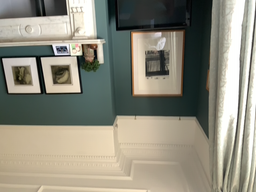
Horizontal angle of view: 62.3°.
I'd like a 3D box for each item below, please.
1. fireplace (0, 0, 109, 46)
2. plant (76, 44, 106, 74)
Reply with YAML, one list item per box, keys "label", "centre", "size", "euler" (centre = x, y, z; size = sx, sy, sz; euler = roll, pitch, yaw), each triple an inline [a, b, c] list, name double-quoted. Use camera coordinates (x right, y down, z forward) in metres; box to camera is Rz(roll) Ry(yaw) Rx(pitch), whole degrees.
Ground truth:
- label: "fireplace"
  centre: [-1.190, -1.340, 2.590]
  size: [1.710, 1.350, 0.880]
  euler: [0, -163, 6]
- label: "plant"
  centre: [-0.470, -0.480, 2.750]
  size: [0.320, 0.350, 0.230]
  euler: [0, -163, 5]
